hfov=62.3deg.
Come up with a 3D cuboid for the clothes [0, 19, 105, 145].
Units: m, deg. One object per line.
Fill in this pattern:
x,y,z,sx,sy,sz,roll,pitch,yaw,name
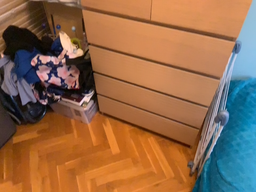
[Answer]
-0.630,-0.120,1.690,0.680,0.650,0.510,21,49,17,clothes
